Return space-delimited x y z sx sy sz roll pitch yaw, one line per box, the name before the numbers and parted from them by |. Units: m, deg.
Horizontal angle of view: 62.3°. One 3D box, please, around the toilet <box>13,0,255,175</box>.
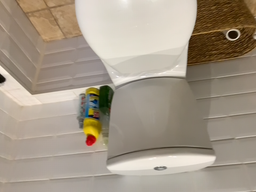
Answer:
toilet | 0.050 -0.200 0.780 0.380 0.800 0.660 -8 150 7
